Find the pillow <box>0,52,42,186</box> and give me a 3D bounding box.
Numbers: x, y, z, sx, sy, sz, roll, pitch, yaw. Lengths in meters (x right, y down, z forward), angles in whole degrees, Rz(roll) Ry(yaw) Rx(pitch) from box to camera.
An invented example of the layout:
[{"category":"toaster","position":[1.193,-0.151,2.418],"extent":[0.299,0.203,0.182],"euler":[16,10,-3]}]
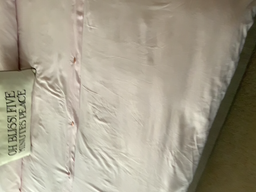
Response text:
[{"category":"pillow","position":[-0.610,0.120,1.120],"extent":[0.160,0.200,0.660],"euler":[17,114,26]}]
